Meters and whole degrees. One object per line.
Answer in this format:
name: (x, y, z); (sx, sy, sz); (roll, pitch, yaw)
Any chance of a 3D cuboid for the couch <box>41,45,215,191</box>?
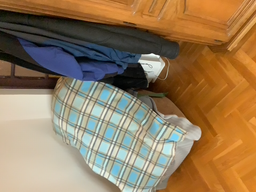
couch: (-0.130, 0.270, 1.980); (1.040, 1.020, 0.960); (57, 135, 40)
